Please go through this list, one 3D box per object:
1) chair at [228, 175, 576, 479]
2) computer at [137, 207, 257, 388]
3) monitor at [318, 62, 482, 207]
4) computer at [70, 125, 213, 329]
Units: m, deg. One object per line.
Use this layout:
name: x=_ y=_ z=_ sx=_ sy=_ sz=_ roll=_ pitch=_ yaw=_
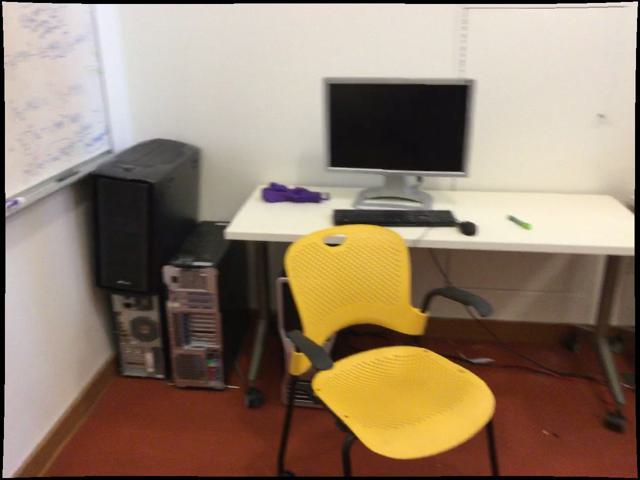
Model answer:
chair: x=0.160 y=0.340 z=1.720 sx=0.550 sy=0.821 sz=0.790 roll=-13 pitch=27 yaw=-32
computer: x=-0.490 y=0.220 z=2.470 sx=0.330 sy=0.550 sz=0.550 roll=4 pitch=23 yaw=5
monitor: x=0.300 y=-0.430 z=2.310 sx=0.569 sy=0.480 sz=0.300 roll=4 pitch=23 yaw=5
computer: x=-0.689 y=-0.080 z=2.390 sx=0.320 sy=0.651 sz=0.590 roll=4 pitch=23 yaw=5
